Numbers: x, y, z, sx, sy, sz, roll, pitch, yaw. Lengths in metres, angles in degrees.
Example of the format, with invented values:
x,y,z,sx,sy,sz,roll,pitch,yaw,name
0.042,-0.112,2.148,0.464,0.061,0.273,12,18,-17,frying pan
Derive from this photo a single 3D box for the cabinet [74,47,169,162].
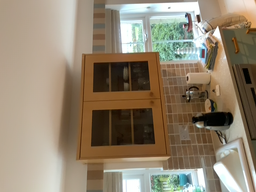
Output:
x,y,z,sx,sy,sz,roll,pitch,yaw,name
-0.070,0.060,2.100,0.290,0.790,1.090,91,177,-67,cabinet
